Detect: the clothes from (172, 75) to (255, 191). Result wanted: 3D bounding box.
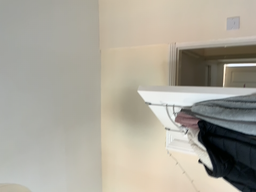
[{"bbox_3d":[0.690,0.360,1.100,0.420,0.720,0.830,-43,-52,-47],"label":"clothes"}]
